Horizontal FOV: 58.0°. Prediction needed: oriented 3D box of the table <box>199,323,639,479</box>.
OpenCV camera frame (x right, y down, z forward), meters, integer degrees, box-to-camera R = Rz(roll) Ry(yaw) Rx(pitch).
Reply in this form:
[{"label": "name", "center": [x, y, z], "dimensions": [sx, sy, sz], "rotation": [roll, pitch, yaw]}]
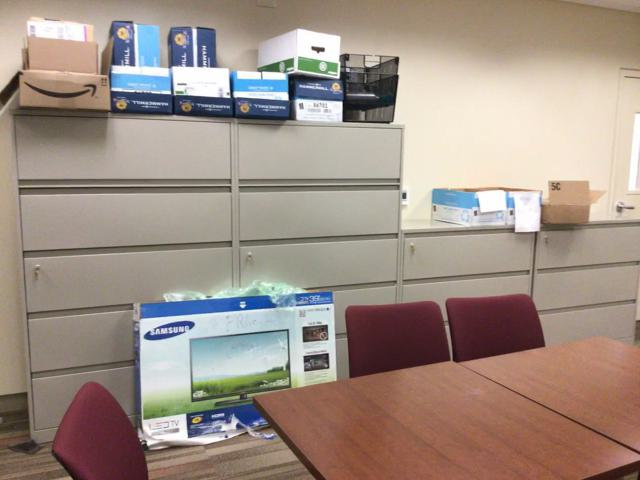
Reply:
[{"label": "table", "center": [0.510, 0.810, 1.680], "dimensions": [1.570, 0.770, 0.850], "rotation": [-4, 8, -17]}]
